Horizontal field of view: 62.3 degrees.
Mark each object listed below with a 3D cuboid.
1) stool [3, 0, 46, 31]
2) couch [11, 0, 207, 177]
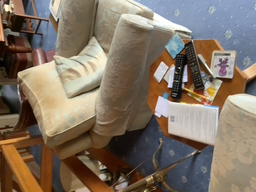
[{"bbox_3d":[-1.770,-1.630,3.550,0.460,0.480,0.870,-36,67,44],"label":"stool"},{"bbox_3d":[-0.280,-0.260,1.680,0.980,0.860,1.180,45,125,37],"label":"couch"}]
